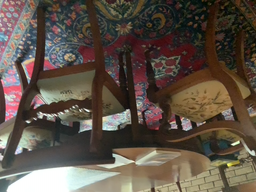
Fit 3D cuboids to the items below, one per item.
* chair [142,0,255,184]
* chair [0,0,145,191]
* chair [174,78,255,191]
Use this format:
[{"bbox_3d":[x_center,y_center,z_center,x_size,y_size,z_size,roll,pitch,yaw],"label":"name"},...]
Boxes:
[{"bbox_3d":[0.530,0.020,1.300,0.560,0.860,0.550,17,142,-32],"label":"chair"},{"bbox_3d":[-0.230,0.020,1.150,0.480,0.880,0.530,-9,149,6],"label":"chair"},{"bbox_3d":[0.870,0.400,1.940,0.540,0.900,0.460,17,141,-32],"label":"chair"}]
